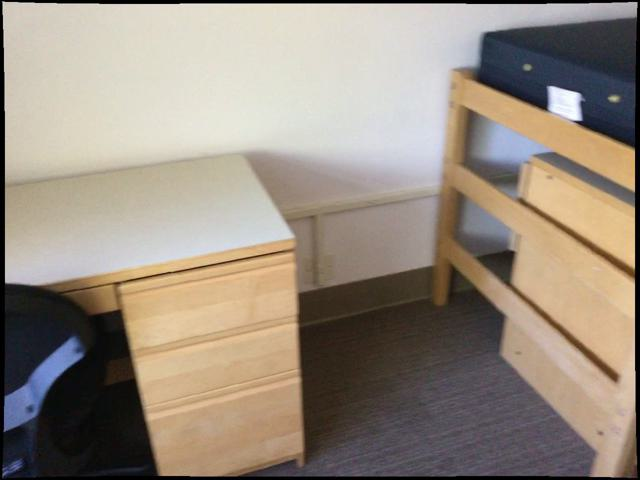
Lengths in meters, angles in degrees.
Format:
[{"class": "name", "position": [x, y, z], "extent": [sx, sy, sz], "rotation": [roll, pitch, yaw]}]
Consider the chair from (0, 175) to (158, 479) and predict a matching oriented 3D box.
[{"class": "chair", "position": [-0.798, 0.391, 1.420], "extent": [0.619, 0.862, 0.560], "rotation": [-12, 30, -14]}]
